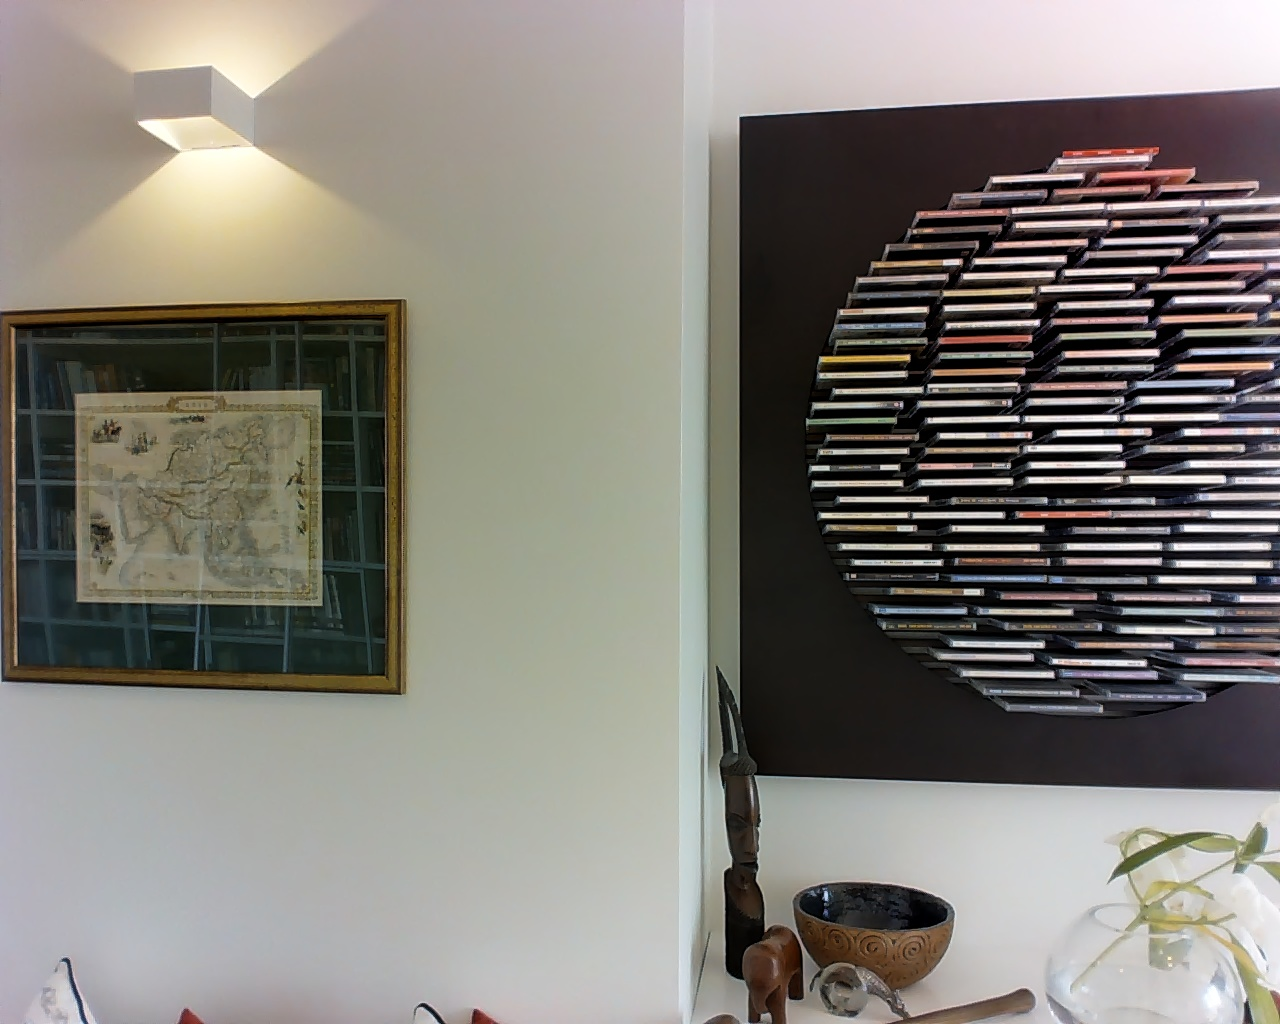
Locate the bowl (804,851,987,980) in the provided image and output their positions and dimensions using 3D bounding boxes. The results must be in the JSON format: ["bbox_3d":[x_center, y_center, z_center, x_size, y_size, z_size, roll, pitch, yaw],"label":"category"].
[{"bbox_3d":[0.350,0.560,1.510,0.220,0.100,0.200,0,0,4],"label":"bowl"}]
